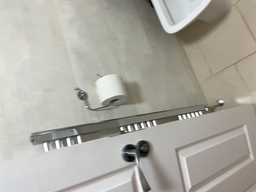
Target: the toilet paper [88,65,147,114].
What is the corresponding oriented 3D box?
[{"bbox_3d":[-0.050,-0.030,0.980,0.150,0.180,0.170,-34,68,47],"label":"toilet paper"}]
